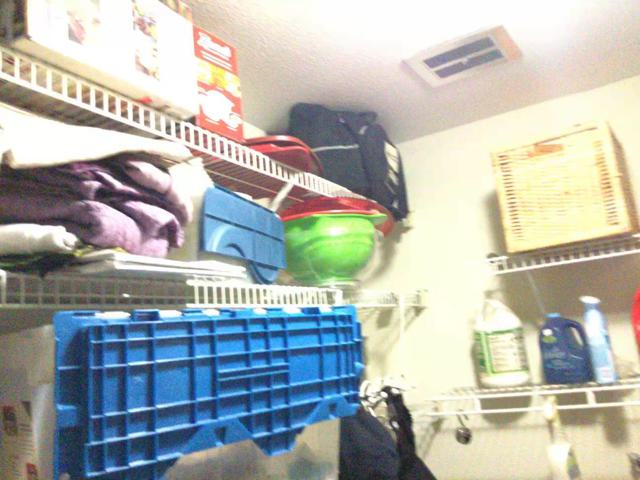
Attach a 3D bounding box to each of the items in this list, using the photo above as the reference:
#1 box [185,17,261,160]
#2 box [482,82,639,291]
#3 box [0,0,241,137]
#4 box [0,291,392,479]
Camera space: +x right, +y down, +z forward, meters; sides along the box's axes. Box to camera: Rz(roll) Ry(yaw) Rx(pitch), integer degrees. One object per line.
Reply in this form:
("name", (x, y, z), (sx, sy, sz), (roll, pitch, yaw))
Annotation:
("box", (-0.200, -0.310, 1.210), (0.030, 0.250, 0.180), (-12, -12, 30))
("box", (0.730, -0.120, 1.680), (0.350, 0.480, 0.360), (-12, -12, 30))
("box", (-0.320, -0.360, 0.970), (0.130, 0.250, 0.400), (-12, -12, 30))
("box", (-0.220, 0.280, 0.930), (0.440, 0.320, 0.560), (-12, -12, 30))
